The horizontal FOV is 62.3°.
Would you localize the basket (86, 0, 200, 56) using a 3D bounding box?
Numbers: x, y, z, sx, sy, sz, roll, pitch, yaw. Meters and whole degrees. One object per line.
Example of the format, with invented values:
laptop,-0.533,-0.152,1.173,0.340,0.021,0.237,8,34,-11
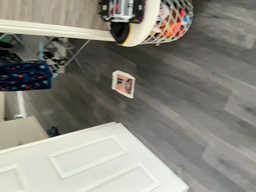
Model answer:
basket,0.090,-0.500,1.350,0.410,0.510,0.360,36,121,38
